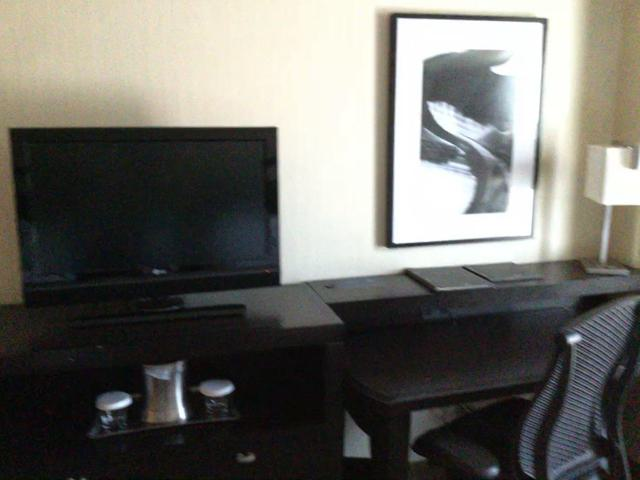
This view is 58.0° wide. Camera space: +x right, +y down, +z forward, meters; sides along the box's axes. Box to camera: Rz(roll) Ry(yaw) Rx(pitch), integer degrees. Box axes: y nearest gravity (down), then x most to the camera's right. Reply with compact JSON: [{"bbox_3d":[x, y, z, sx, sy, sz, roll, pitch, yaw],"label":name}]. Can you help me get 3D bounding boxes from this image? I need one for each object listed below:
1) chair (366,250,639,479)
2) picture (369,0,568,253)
[{"bbox_3d":[0.600,0.650,1.880,0.590,1.090,0.690,-7,11,-35],"label":"chair"},{"bbox_3d":[0.580,-0.430,2.290,0.760,0.930,0.110,-2,9,-11],"label":"picture"}]
